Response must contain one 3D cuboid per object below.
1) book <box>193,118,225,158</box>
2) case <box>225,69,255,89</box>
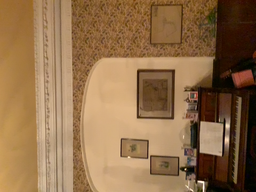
[{"bbox_3d":[1.160,0.600,3.040,0.050,0.320,0.520,-37,-41,-81],"label":"book"},{"bbox_3d":[1.630,-0.240,3.080,0.400,0.290,0.280,-18,-71,-82],"label":"case"}]
